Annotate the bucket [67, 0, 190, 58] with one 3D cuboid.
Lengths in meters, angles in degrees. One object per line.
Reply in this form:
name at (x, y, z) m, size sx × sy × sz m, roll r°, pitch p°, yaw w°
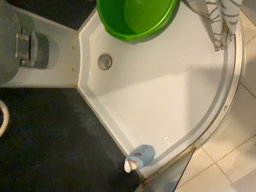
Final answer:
bucket at (0.020, -0.450, 0.950) m, size 0.400 × 0.280 × 0.330 m, roll -47°, pitch 73°, yaw 18°
